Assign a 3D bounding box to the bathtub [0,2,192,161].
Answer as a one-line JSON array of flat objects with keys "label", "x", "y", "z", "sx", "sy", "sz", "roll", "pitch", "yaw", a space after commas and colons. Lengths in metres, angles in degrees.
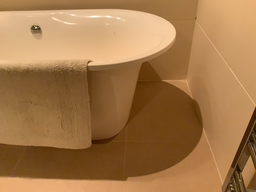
[{"label": "bathtub", "x": -0.610, "y": -0.140, "z": 1.340, "sx": 1.740, "sy": 0.620, "sz": 0.830, "roll": 0, "pitch": 37, "yaw": 3}]
